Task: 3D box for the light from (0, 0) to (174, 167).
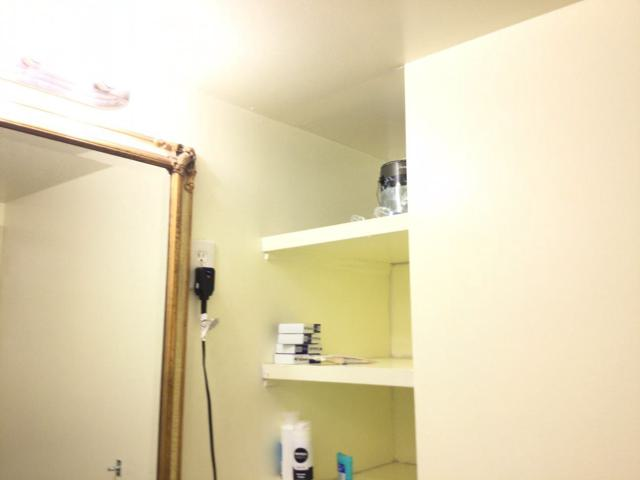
[{"bbox_3d":[-0.540,-0.320,1.110,0.150,0.220,0.500,-8,-13,39],"label":"light"}]
